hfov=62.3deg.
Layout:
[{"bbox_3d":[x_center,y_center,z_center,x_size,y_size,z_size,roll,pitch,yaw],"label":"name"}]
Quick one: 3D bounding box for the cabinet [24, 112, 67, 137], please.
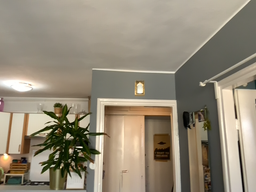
[{"bbox_3d":[-1.520,0.540,3.970,0.680,0.450,0.240,2,-12,-5],"label":"cabinet"}]
